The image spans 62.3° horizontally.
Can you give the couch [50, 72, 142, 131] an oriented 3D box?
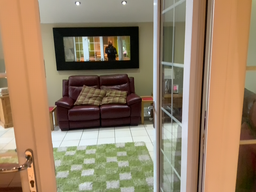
[{"bbox_3d":[-0.610,0.050,4.520,1.690,0.980,1.030,-2,13,-5],"label":"couch"}]
